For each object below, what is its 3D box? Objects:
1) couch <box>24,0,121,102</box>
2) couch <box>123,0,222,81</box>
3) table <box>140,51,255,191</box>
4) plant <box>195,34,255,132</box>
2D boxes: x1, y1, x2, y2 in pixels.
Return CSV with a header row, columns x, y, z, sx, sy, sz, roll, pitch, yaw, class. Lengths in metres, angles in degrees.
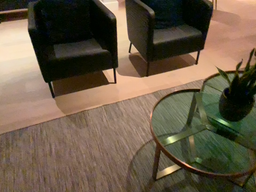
x,y,z,sx,sy,sz,roll,pitch,yaw,class
-0.530,-0.520,2.140,0.740,0.760,0.690,-13,43,-15,couch
0.420,-0.750,2.450,0.760,0.720,0.740,-13,43,-15,couch
0.860,0.220,1.560,1.150,0.390,1.160,-15,44,-17,table
0.670,-0.080,1.270,0.310,0.430,0.310,-14,43,-16,plant
